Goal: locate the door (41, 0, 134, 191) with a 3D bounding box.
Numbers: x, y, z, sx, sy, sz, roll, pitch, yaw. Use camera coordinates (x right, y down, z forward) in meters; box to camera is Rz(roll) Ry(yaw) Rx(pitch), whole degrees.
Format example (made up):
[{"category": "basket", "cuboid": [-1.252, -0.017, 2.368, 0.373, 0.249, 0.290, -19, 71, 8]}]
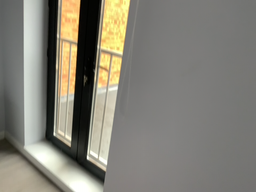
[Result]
[{"category": "door", "cuboid": [-0.420, -0.290, 1.750, 0.940, 2.070, 0.070, 22, 23, 34]}]
